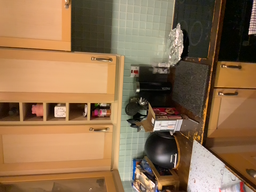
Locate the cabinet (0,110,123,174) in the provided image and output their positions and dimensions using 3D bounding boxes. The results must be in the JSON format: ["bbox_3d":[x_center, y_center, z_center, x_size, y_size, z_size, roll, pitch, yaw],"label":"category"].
[{"bbox_3d":[-0.480,0.290,1.480,0.320,0.830,0.310,-137,48,-73],"label":"cabinet"}]

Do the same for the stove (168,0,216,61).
[{"bbox_3d":[0.400,-0.530,1.380,0.510,0.030,0.570,-137,48,-73],"label":"stove"}]
